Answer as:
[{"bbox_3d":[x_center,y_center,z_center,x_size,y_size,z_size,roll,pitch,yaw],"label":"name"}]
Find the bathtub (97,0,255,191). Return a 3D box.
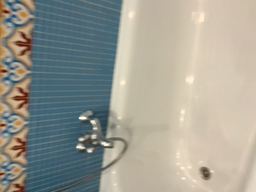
[{"bbox_3d":[0.390,-0.180,0.950,0.750,0.570,2.100,19,106,46],"label":"bathtub"}]
